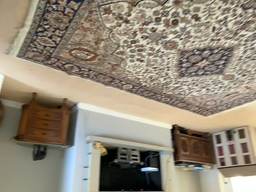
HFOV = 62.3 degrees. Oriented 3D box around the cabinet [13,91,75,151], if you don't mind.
[{"bbox_3d":[-1.040,0.340,2.670,0.540,0.580,0.430,17,150,-34],"label":"cabinet"}]
